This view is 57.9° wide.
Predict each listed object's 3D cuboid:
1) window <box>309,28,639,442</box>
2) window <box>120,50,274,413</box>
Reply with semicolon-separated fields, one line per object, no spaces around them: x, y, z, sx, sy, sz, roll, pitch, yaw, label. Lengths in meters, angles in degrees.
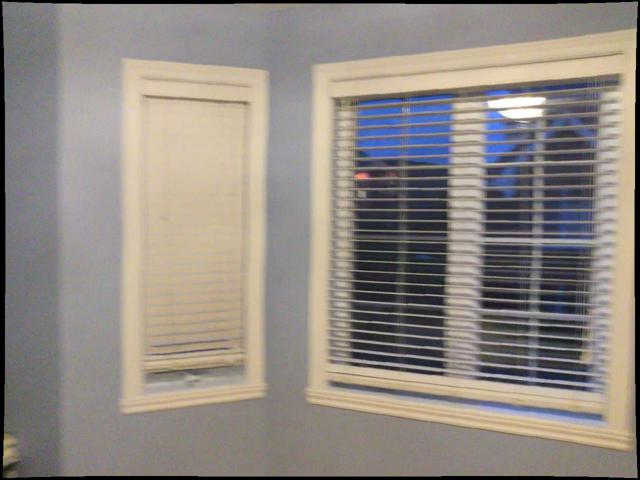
0.609;-0.030;2.260;1.349;1.381;0.210;3;6;26;window
-0.539;-0.020;2.520;0.579;1.471;0.190;2;4;-18;window
